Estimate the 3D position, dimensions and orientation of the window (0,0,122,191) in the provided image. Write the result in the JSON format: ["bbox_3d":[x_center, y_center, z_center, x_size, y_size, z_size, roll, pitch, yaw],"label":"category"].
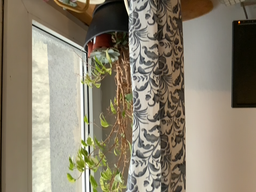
[{"bbox_3d":[-0.340,0.450,0.340,0.160,1.760,1.390,-4,175,20],"label":"window"}]
